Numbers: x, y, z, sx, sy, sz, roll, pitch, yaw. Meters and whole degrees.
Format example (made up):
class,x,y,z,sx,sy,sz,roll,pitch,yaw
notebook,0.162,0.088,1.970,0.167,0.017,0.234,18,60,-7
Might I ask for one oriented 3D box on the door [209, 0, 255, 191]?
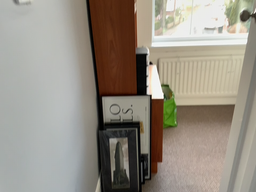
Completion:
class,x,y,z,sx,sy,sz,roll,pitch,yaw
door,0.510,0.000,0.680,0.040,1.970,0.860,0,25,5
